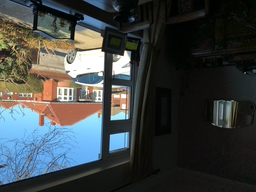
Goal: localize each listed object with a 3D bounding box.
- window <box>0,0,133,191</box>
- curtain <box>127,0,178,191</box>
[{"bbox_3d":[-0.690,0.050,1.950,0.120,1.500,2.180,1,179,39],"label":"window"},{"bbox_3d":[0.300,-0.270,2.460,0.310,2.550,0.500,1,179,39],"label":"curtain"}]
